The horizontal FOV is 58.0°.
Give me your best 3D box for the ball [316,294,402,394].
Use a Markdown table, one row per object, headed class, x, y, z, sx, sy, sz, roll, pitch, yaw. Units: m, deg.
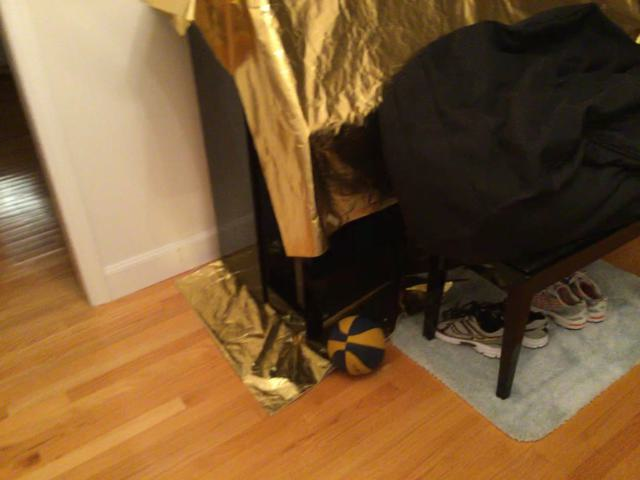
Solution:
| class | x | y | z | sx | sy | sz | roll | pitch | yaw |
| --- | --- | --- | --- | --- | --- | --- | --- | --- | --- |
| ball | 0.120 | 0.310 | 1.750 | 0.190 | 0.170 | 0.170 | -24 | 38 | -27 |
